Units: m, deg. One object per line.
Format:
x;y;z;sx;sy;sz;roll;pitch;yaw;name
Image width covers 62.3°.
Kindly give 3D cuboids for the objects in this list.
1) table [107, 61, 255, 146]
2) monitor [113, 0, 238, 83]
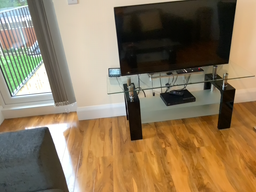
0.470;0.040;2.000;1.260;0.470;0.460;-8;28;-4;table
0.390;-0.450;1.780;0.960;0.620;0.060;-6;28;-2;monitor
